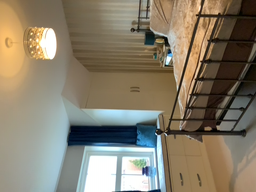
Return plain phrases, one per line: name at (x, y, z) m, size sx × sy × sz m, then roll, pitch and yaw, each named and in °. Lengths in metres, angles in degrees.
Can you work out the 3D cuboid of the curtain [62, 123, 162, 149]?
curtain at (-0.280, 0.740, 3.960) m, size 0.270 × 1.770 × 0.340 m, roll 92°, pitch 180°, yaw -53°
